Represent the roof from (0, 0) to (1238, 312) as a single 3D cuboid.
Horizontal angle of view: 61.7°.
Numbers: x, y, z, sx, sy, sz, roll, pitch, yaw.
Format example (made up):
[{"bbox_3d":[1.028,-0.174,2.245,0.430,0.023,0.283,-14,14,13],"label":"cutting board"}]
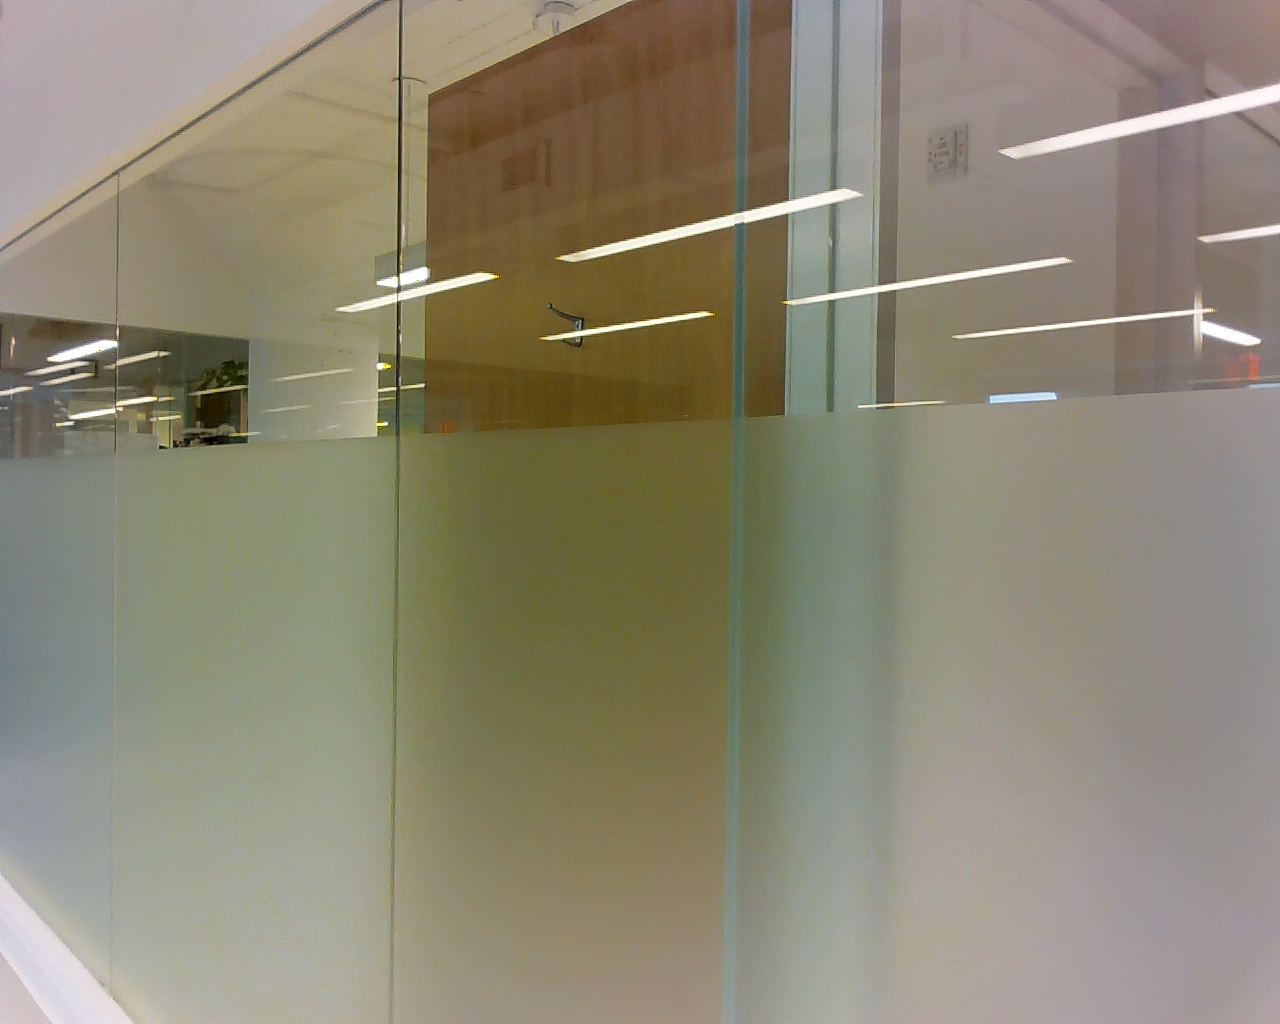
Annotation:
[{"bbox_3d":[0.150,-1.510,4.730,5.729,0.170,2.720,1,1,-43],"label":"roof"}]
